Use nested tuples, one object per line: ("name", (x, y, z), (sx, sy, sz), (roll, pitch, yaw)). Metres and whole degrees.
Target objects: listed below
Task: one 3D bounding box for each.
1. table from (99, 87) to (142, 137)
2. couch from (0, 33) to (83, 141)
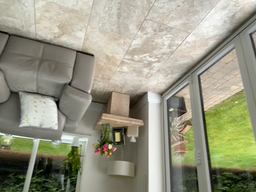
("table", (-0.120, 0.270, 3.300), (0.500, 0.550, 0.510), (12, 153, -18))
("couch", (-1.220, -0.050, 2.430), (1.120, 0.810, 0.870), (13, 153, -20))
